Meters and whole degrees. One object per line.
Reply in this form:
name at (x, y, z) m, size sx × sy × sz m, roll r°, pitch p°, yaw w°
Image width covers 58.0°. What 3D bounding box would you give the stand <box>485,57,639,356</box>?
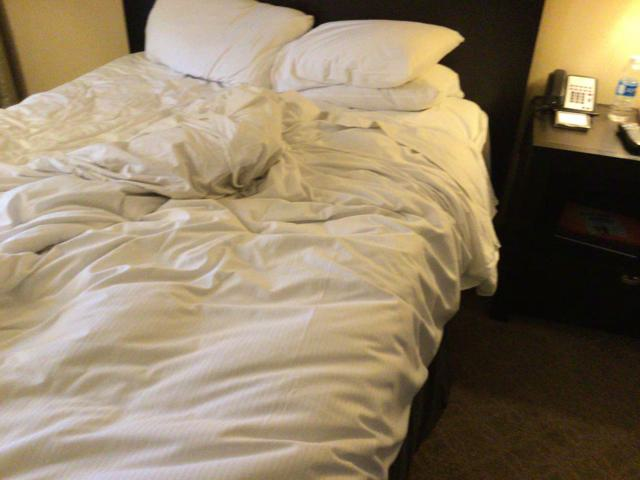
stand at (1.030, -0.110, 1.890) m, size 0.790 × 0.790 × 0.520 m, roll 11°, pitch 31°, yaw 18°
